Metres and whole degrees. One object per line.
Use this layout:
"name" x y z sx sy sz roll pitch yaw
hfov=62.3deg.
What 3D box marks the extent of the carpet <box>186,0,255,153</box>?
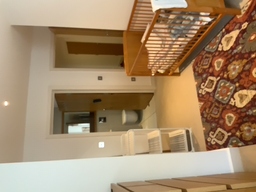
"carpet" 1.040 -0.180 1.960 1.710 0.060 1.280 121 146 -69
